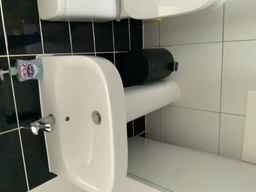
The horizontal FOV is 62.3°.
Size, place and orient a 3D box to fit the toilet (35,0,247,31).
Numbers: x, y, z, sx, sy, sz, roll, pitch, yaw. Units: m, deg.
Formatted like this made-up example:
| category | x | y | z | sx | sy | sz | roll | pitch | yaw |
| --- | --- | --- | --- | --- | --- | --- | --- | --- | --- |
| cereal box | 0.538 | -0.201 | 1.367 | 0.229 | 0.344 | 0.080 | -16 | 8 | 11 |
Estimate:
| category | x | y | z | sx | sy | sz | roll | pitch | yaw |
| --- | --- | --- | --- | --- | --- | --- | --- | --- | --- |
| toilet | 0.100 | -0.530 | 0.940 | 0.630 | 0.760 | 0.380 | 8 | 105 | 39 |
